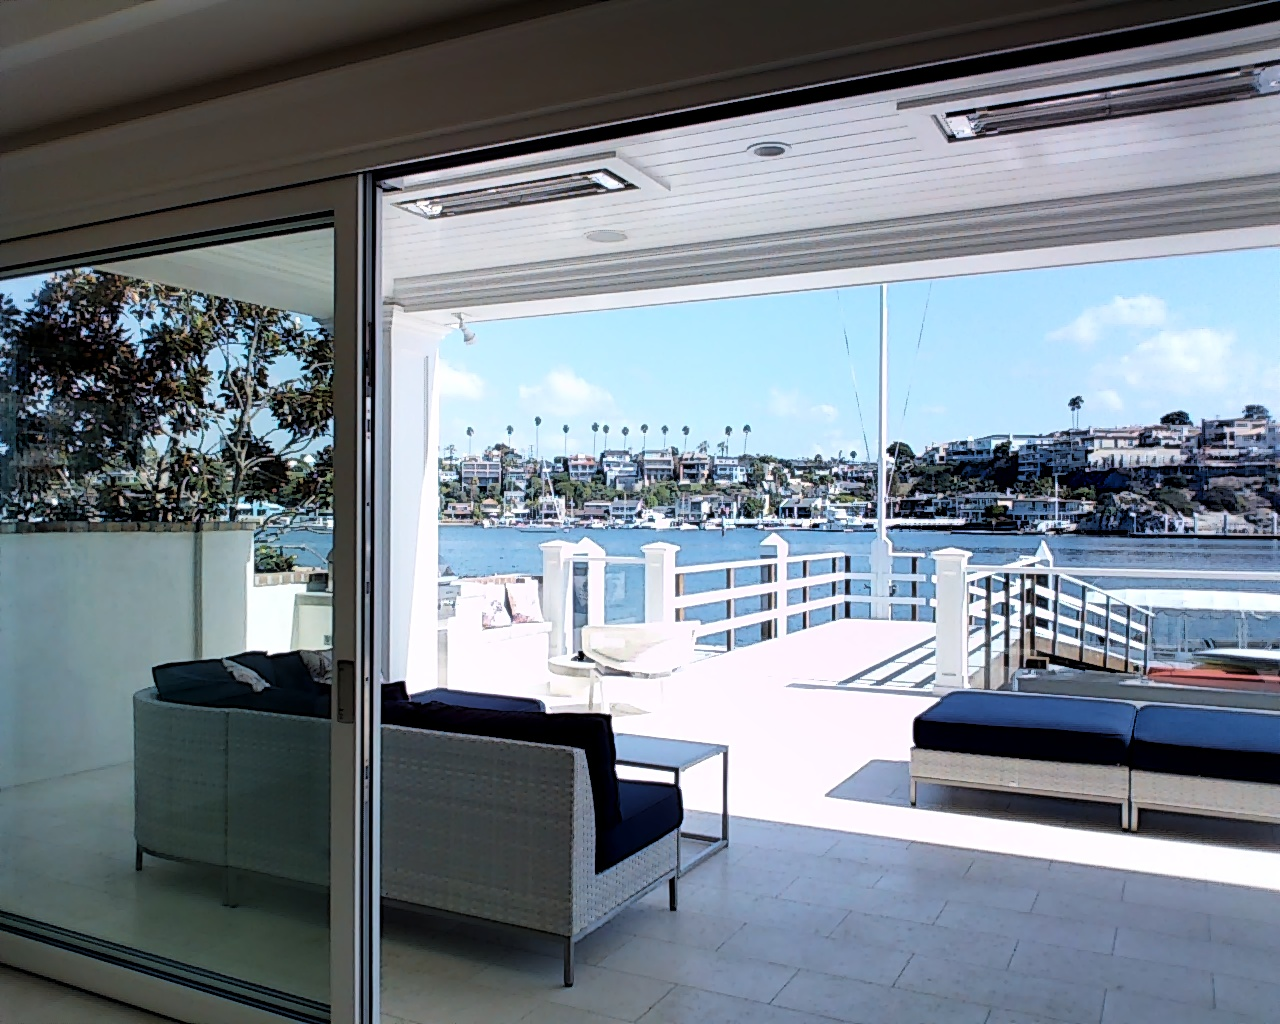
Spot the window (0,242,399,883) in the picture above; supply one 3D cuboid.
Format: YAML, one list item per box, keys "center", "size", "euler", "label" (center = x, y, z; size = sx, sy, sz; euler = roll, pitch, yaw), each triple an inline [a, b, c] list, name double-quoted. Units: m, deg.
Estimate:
- center: [-2.179, 0.210, 5.590]
  size: [0.290, 2.651, 2.450]
  euler: [0, 0, 27]
  label: "window"
